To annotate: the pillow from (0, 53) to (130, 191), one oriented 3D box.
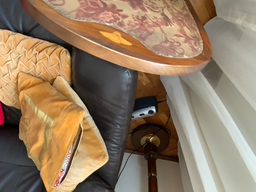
[{"bbox_3d":[-0.310,0.160,0.870,0.250,0.580,0.460,-23,133,-39],"label":"pillow"}]
